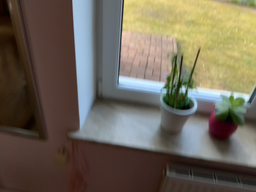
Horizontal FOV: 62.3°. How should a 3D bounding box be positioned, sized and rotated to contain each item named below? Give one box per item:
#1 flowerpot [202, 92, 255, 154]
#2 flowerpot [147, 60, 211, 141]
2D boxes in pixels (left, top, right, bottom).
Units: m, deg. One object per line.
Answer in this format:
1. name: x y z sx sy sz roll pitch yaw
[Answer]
1. flowerpot: 0.450 0.120 0.960 0.150 0.190 0.170 9 37 3
2. flowerpot: 0.220 0.020 0.990 0.210 0.270 0.220 10 38 5
